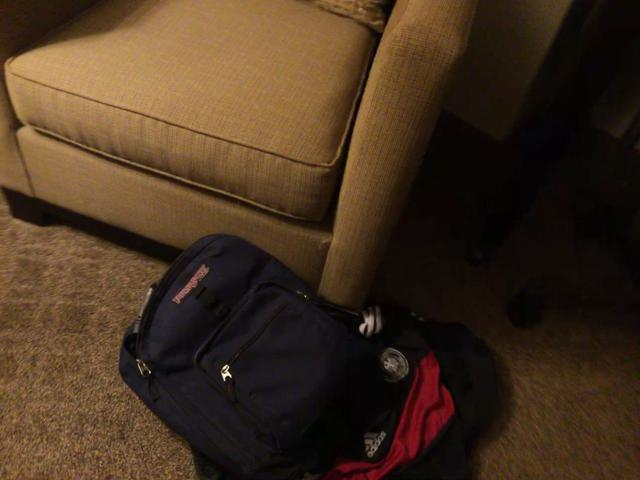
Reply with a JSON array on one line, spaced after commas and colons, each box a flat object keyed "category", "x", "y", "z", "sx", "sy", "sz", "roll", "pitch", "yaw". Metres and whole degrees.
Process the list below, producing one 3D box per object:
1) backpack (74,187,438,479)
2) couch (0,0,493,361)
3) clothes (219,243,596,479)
[{"category": "backpack", "x": -0.110, "y": 0.190, "z": 1.030, "sx": 0.450, "sy": 0.220, "sz": 0.390, "roll": 36, "pitch": 52, "yaw": 21}, {"category": "couch", "x": -0.110, "y": -0.470, "z": 1.150, "sx": 0.830, "sy": 0.840, "sz": 0.870, "roll": 18, "pitch": 47, "yaw": 8}, {"category": "clothes", "x": 0.170, "y": 0.310, "z": 1.080, "sx": 0.480, "sy": 0.120, "sz": 0.520, "roll": 36, "pitch": 52, "yaw": 21}]
